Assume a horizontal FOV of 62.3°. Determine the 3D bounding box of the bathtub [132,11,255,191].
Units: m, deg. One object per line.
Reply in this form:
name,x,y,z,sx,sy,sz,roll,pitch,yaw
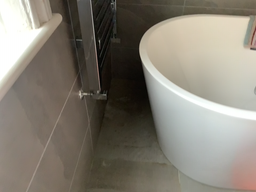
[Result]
bathtub,0.920,0.060,1.100,1.730,0.580,0.860,4,42,3
